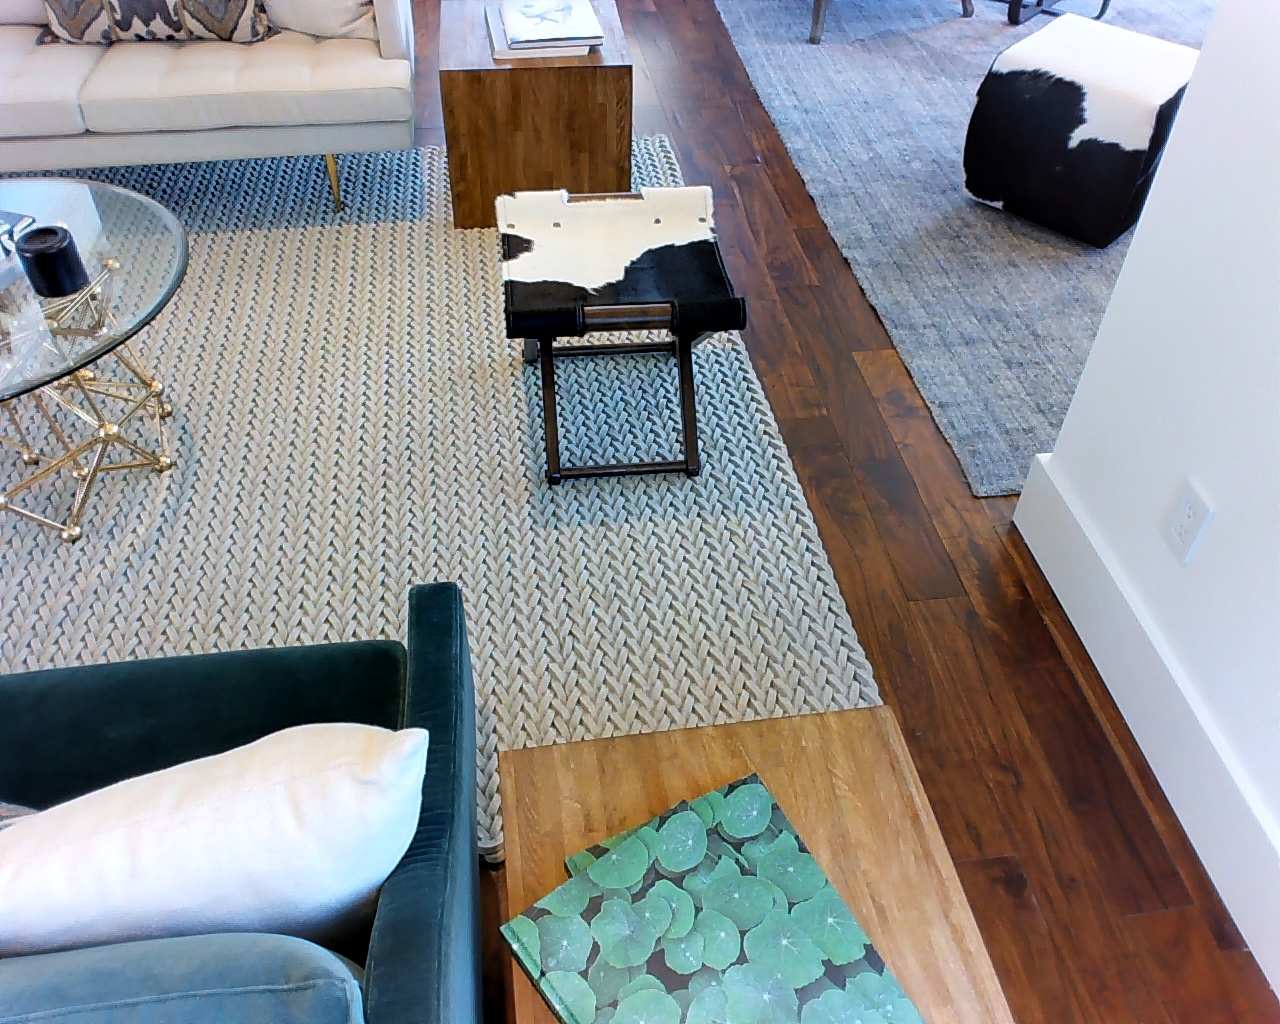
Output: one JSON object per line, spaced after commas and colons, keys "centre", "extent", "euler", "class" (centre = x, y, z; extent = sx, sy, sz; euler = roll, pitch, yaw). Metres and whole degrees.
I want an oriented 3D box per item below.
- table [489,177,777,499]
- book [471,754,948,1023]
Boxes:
{"centre": [-0.040, -0.390, 2.340], "extent": [0.520, 0.430, 0.540], "euler": [-5, 44, -6], "class": "table"}
{"centre": [0.070, 0.480, 1.100], "extent": [0.360, 0.050, 0.390], "euler": [-19, 47, -20], "class": "book"}
